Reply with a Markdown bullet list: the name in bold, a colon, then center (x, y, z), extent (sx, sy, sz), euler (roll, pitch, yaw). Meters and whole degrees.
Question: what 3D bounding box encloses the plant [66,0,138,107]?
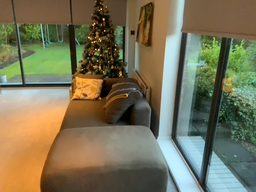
- **plant**: center (-0.500, -0.910, 4.190), extent (1.150, 1.980, 1.080), euler (0, 19, -6)
